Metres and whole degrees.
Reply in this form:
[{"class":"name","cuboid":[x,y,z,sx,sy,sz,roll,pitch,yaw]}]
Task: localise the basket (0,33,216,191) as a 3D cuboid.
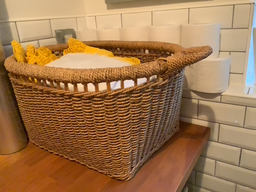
[{"class":"basket","cuboid":[-0.100,0.010,0.710,0.640,0.380,0.400,9,24,30]}]
